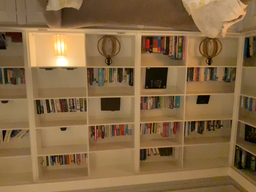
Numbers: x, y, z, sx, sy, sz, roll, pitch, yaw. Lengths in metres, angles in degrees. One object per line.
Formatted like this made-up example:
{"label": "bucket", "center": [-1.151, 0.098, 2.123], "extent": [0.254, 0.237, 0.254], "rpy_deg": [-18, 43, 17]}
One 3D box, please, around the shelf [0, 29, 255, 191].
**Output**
{"label": "shelf", "center": [-0.410, 0.210, 2.690], "extent": [4.090, 1.910, 0.390], "rpy_deg": [-1, -171, -10]}
